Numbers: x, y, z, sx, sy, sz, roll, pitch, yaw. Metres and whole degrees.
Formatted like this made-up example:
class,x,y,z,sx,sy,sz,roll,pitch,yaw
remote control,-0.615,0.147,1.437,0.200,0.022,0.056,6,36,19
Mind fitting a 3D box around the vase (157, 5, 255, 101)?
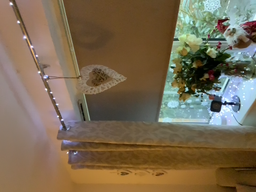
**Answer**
class,x,y,z,sx,sy,sz,roll,pitch,yaw
vase,0.470,-0.250,1.310,0.480,0.510,0.320,91,180,-47
